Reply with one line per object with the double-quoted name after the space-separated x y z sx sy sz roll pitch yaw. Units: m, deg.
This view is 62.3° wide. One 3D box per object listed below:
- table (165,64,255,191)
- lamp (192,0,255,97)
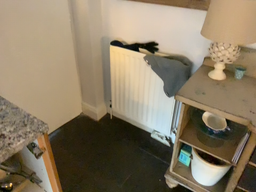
0.600 0.310 1.460 0.410 0.860 0.490 22 38 28 "table"
0.590 -0.300 1.190 0.280 0.470 0.280 22 38 27 "lamp"
